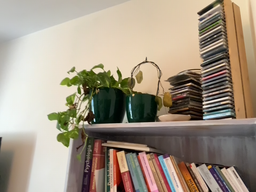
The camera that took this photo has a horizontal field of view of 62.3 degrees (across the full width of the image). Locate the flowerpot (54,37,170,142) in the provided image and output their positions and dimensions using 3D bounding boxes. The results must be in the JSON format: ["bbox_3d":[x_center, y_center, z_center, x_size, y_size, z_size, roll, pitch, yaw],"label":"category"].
[{"bbox_3d":[-0.060,0.020,1.210,0.470,0.440,0.430,-6,-19,29],"label":"flowerpot"}]
